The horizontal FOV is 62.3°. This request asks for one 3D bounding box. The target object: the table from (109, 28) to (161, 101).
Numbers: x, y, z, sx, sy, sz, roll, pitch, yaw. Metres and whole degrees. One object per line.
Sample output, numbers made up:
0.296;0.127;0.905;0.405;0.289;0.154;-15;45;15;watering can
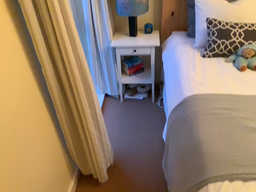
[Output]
0.090;-0.330;2.320;0.480;0.690;0.370;0;38;5;table
